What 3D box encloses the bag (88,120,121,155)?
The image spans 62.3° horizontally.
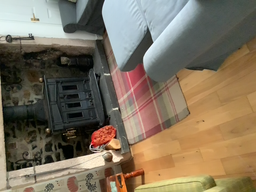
[{"bbox_3d":[-0.330,0.570,2.880,0.390,0.250,0.350,-42,59,55],"label":"bag"}]
